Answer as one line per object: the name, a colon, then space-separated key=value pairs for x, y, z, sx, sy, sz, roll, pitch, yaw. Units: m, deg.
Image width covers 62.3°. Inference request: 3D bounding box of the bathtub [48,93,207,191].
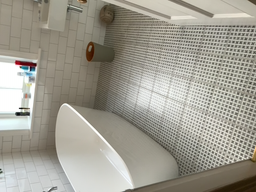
bathtub: x=-0.230 y=0.570 z=1.990 sx=1.680 sy=0.560 sz=0.790 roll=26 pitch=109 yaw=54
